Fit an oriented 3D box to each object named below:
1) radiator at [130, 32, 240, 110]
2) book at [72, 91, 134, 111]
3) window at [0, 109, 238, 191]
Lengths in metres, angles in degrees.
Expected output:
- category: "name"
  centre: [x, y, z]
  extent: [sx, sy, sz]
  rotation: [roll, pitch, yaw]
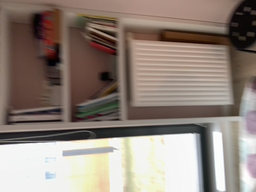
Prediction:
- category: "radiator"
  centre: [0.490, -0.190, 1.860]
  extent: [0.310, 0.890, 0.580]
  rotation: [176, 94, -74]
- category: "book"
  centre: [-0.210, 0.030, 1.660]
  extent: [0.290, 0.440, 0.140]
  rotation: [-178, 87, -74]
- category: "window"
  centre: [-0.110, 1.010, 1.780]
  extent: [0.210, 2.330, 1.730]
  rotation: [171, 98, -74]
